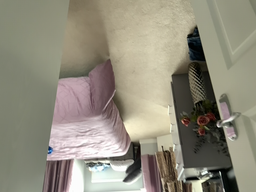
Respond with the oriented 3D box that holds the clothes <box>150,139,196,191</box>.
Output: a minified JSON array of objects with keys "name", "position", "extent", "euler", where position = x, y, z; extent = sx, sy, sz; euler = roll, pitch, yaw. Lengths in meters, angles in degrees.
[{"name":"clothes","position":[0.740,1.440,3.440],"extent":[0.590,1.320,0.320],"euler":[-18,148,29]}]

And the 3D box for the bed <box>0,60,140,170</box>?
[{"name":"bed","position":[-1.130,0.460,2.770],"extent":[2.380,0.590,1.850],"euler":[-5,152,7]}]
